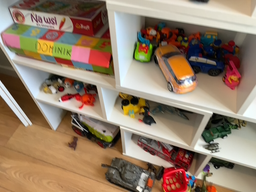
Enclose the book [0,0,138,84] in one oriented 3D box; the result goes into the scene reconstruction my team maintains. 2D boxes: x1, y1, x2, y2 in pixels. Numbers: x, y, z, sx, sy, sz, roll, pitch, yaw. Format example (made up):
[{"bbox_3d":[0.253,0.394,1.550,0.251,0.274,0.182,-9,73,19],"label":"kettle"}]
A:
[{"bbox_3d":[-0.220,-0.260,0.760,0.460,0.250,0.220,16,54,13],"label":"book"}]
